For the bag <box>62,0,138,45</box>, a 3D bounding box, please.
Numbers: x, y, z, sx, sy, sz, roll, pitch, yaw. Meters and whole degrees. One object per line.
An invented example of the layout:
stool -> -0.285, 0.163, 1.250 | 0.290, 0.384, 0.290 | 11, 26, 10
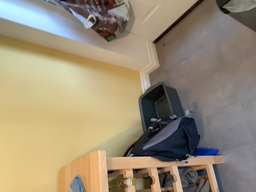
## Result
bag -> -0.190, -0.560, 1.470 | 0.230, 0.450, 0.180 | -40, 51, 43
